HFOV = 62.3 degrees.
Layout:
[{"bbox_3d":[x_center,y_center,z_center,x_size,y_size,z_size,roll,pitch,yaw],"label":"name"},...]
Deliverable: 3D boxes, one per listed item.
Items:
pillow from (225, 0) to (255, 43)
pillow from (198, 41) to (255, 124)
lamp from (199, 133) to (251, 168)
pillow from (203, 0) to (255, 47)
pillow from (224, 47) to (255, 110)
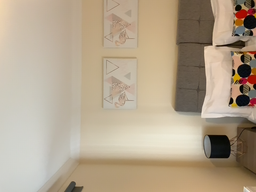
[{"bbox_3d":[1.190,-0.880,2.160,0.160,0.310,0.630,1,-87,-56],"label":"pillow"},{"bbox_3d":[1.080,-0.150,2.320,0.230,0.540,0.830,3,-90,-69],"label":"pillow"},{"bbox_3d":[1.030,0.580,2.300,0.320,0.410,0.280,-29,-60,-89],"label":"lamp"},{"bbox_3d":[1.150,-0.930,2.300,0.220,0.570,0.740,-28,-60,-80],"label":"pillow"},{"bbox_3d":[1.190,-0.170,2.160,0.190,0.330,0.610,10,-96,-62],"label":"pillow"}]
